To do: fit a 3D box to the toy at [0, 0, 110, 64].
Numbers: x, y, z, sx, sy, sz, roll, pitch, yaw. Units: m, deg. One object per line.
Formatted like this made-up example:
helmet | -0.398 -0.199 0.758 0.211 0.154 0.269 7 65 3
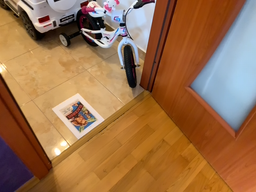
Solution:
toy | -0.660 -0.850 1.840 0.830 0.580 0.610 41 59 22
